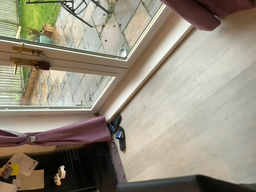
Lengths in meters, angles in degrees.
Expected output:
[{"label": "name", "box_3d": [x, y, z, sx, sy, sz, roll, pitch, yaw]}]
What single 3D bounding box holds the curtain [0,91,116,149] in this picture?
[{"label": "curtain", "box_3d": [-1.180, 0.230, 2.030, 0.380, 2.190, 0.410, -54, 49, 36]}]
